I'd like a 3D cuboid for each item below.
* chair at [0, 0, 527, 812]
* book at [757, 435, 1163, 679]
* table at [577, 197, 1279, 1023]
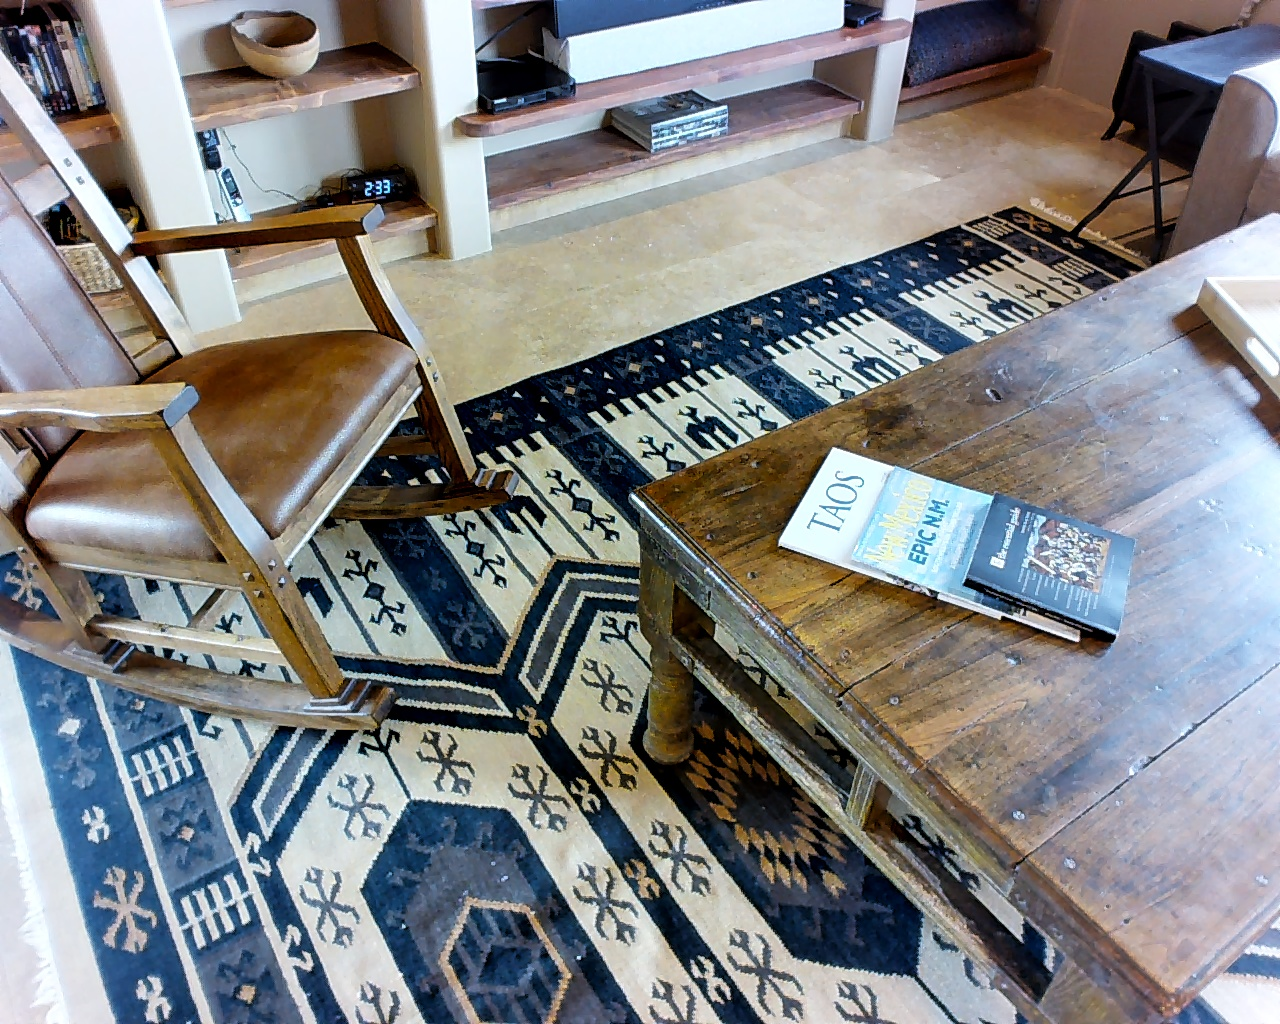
[{"bbox_3d":[-0.870,-0.260,1.710,0.960,1.210,0.700,-2,26,18],"label":"chair"},{"bbox_3d":[0.400,0.040,1.340,0.450,0.030,0.230,19,44,19],"label":"book"},{"bbox_3d":[0.830,0.120,1.660,1.610,0.540,0.900,-23,47,-26],"label":"table"}]
